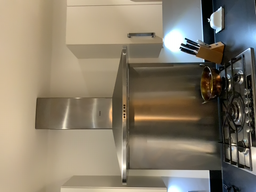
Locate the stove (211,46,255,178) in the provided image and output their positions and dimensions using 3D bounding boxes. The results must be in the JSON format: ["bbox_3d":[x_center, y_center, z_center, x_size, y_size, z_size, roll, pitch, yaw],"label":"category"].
[{"bbox_3d":[0.710,0.110,1.460,0.560,0.030,0.730,75,-166,-83],"label":"stove"}]
